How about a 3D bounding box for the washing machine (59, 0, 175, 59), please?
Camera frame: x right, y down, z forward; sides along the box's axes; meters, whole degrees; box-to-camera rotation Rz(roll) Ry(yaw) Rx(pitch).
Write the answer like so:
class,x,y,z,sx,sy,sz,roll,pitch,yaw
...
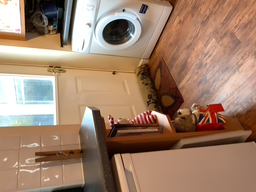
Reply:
class,x,y,z,sx,sy,sz,roll,pitch,yaw
washing machine,-0.180,-0.880,2.160,0.590,0.930,0.730,117,146,-46
